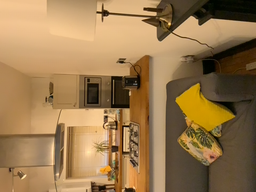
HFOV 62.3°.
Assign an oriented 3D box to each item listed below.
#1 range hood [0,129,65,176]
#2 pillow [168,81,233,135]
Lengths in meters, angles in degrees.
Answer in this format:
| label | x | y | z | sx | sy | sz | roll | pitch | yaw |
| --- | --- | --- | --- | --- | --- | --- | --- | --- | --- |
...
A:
| label | x | y | z | sx | sy | sz | roll | pitch | yaw |
| --- | --- | --- | --- | --- | --- | --- | --- | --- | --- |
| range hood | -1.120 | 0.640 | 2.400 | 0.730 | 0.450 | 0.420 | 1 | -17 | -12 |
| pillow | 0.600 | 0.110 | 1.820 | 0.190 | 0.370 | 0.400 | -33 | 3 | -14 |
